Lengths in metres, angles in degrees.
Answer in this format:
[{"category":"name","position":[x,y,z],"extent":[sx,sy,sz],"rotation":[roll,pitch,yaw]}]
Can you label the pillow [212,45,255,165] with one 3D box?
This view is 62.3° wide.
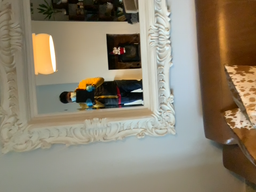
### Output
[{"category":"pillow","position":[0.760,0.080,1.180],"extent":[0.330,0.390,0.560],"rotation":[118,159,-66]}]
